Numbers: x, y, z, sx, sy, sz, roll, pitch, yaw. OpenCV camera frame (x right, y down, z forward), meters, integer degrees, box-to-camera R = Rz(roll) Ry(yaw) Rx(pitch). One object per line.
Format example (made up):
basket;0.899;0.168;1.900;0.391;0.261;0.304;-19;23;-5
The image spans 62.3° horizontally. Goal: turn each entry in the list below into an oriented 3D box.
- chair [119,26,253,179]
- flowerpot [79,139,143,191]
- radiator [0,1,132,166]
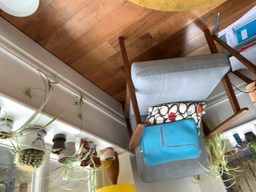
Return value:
chair;0.280;0.080;1.550;0.560;0.710;0.810;-8;144;-6
flowerpot;-0.110;0.660;1.540;0.340;0.530;0.310;-21;143;12
radiator;-0.420;0.040;1.430;0.230;0.560;1.240;-26;142;18
